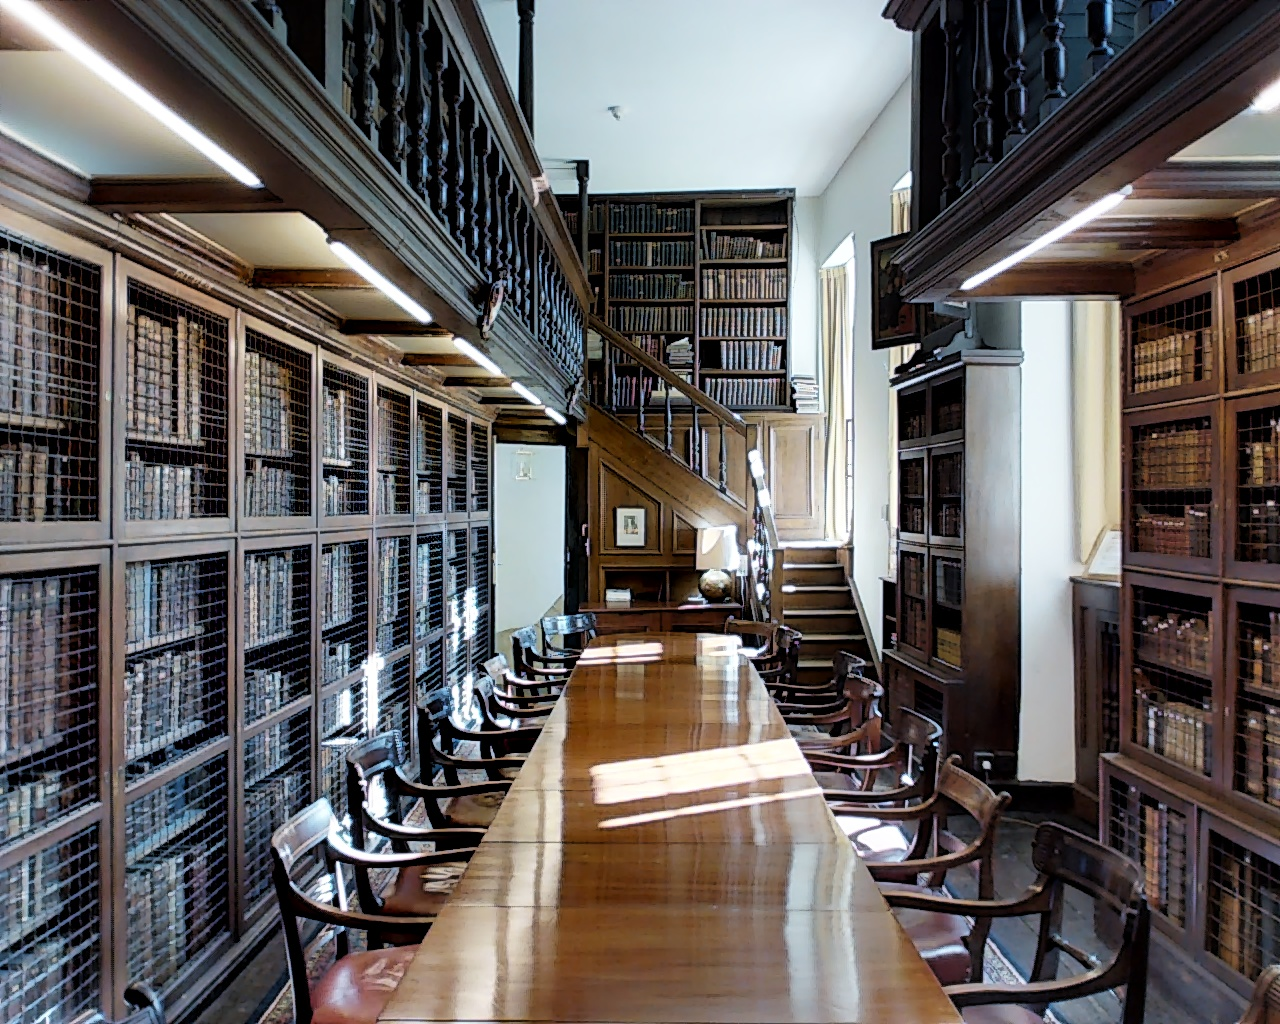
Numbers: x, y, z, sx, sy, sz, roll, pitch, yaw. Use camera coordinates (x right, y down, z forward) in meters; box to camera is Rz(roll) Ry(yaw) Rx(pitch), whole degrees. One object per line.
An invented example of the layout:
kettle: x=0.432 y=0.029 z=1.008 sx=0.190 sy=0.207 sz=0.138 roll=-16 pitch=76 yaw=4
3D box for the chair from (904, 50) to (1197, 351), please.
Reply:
chair: x=1.350 y=-1.010 z=3.630 sx=0.740 sy=0.830 sz=0.620 roll=0 pitch=0 yaw=-2
